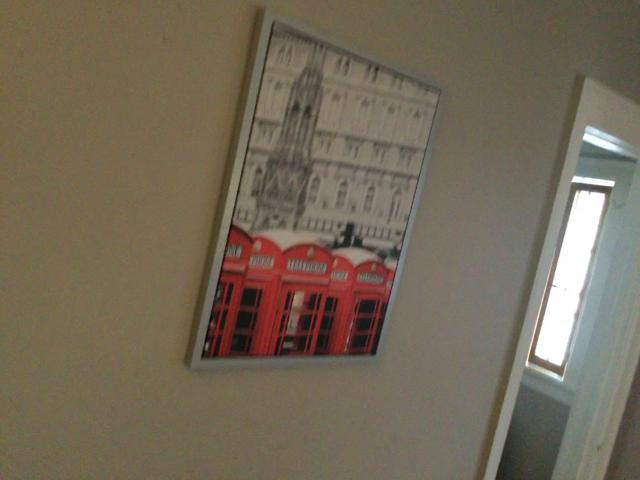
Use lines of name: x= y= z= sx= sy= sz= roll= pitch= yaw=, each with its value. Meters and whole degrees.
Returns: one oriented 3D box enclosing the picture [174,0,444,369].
picture: x=0.000 y=-0.080 z=1.360 sx=0.540 sy=0.760 sz=0.090 roll=10 pitch=3 yaw=-37
